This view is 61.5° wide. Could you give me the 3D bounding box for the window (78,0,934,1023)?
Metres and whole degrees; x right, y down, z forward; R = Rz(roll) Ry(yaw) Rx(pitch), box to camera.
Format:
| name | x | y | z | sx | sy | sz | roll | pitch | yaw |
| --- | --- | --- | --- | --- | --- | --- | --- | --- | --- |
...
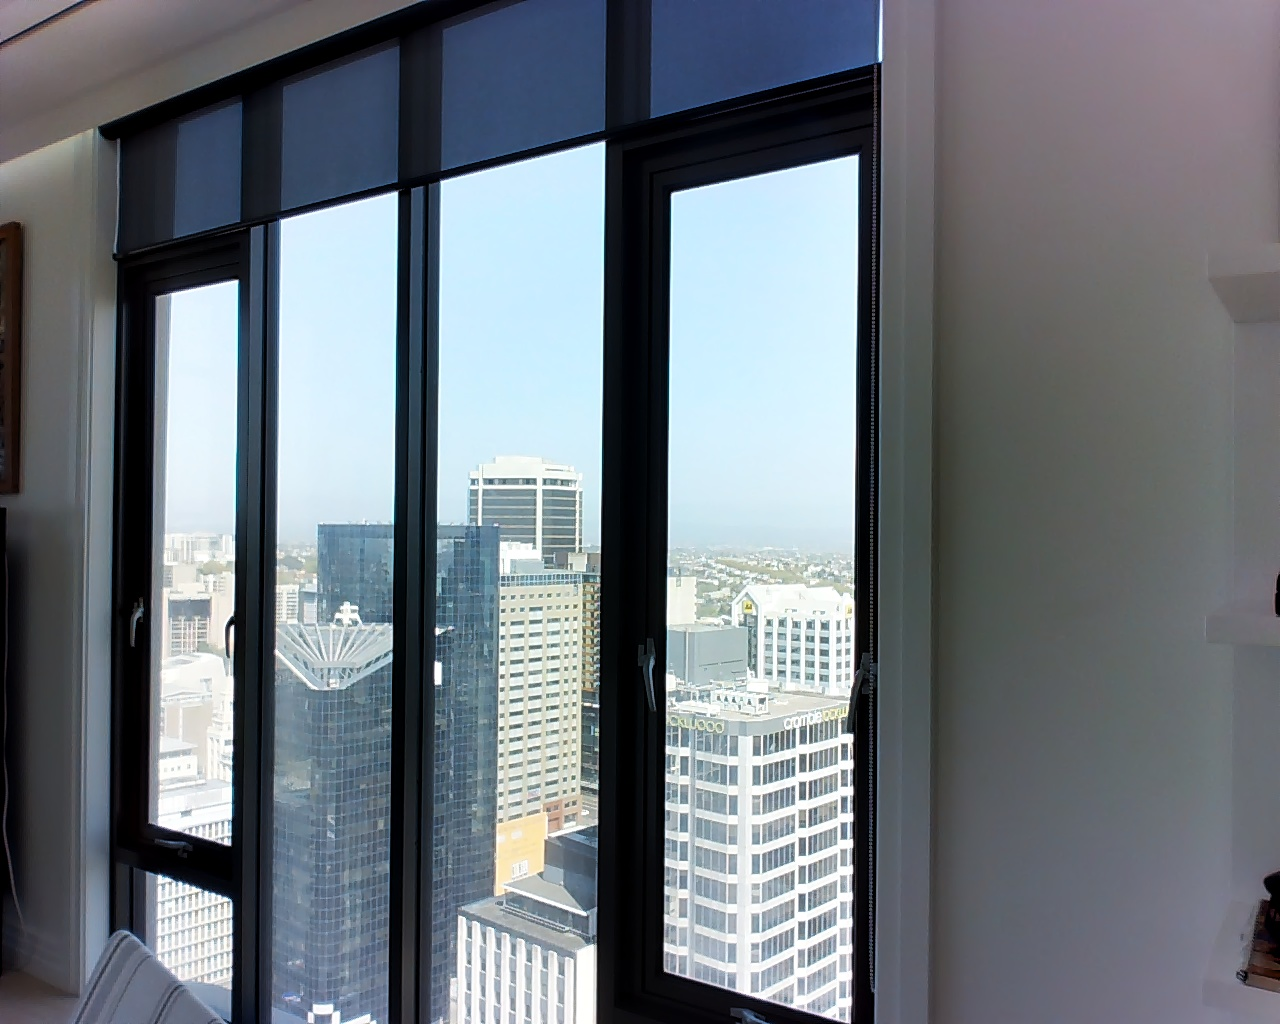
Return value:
| name | x | y | z | sx | sy | sz | roll | pitch | yaw |
| --- | --- | --- | --- | --- | --- | --- | --- | --- | --- |
| window | -0.560 | 0.100 | 2.510 | 2.460 | 2.531 | 0.200 | 1 | 0 | 35 |
